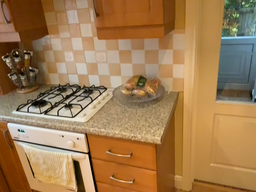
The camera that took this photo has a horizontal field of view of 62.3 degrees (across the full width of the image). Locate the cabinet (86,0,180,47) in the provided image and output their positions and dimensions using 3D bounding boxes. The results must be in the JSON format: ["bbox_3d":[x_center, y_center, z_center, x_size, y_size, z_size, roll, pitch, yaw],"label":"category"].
[{"bbox_3d":[0.030,-0.750,1.120,0.440,0.900,0.360,4,25,20],"label":"cabinet"}]

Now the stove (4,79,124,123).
[{"bbox_3d":[-0.420,0.000,1.530,0.620,0.020,0.590,4,25,20],"label":"stove"}]
